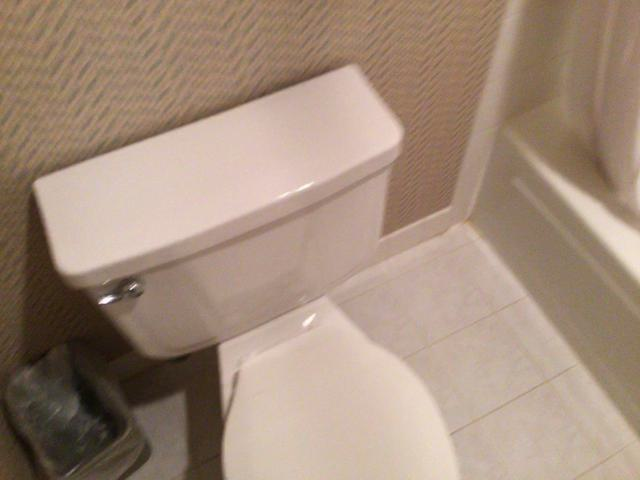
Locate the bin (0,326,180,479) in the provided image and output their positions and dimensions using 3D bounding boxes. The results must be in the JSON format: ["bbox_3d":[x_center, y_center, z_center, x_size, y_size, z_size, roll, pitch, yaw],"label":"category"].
[{"bbox_3d":[-0.480,0.390,1.210,0.230,0.270,0.260,-24,59,-10],"label":"bin"}]

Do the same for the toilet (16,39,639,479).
[{"bbox_3d":[0.000,0.260,1.000,0.550,0.740,0.730,-24,59,-10],"label":"toilet"}]
